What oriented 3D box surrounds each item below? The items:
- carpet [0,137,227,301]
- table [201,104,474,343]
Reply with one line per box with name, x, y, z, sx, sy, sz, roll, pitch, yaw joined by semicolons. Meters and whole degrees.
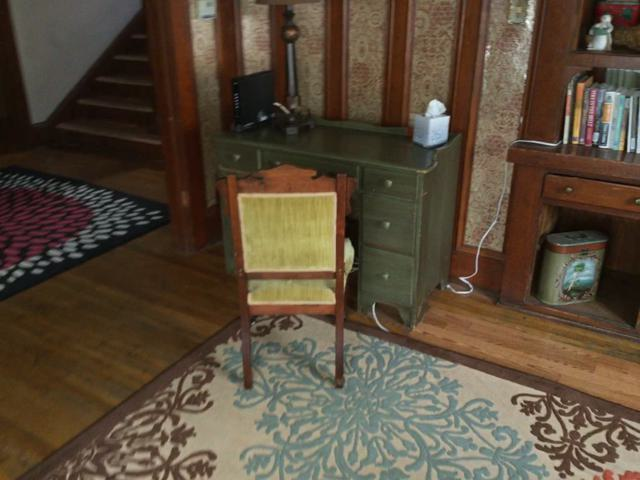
carpet;-2.130;-0.220;3.830;2.170;0.160;2.070;21;31;36
table;0.050;-0.160;2.890;1.160;0.790;0.590;18;30;33
